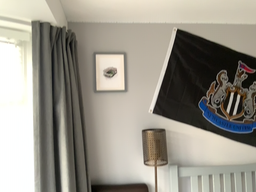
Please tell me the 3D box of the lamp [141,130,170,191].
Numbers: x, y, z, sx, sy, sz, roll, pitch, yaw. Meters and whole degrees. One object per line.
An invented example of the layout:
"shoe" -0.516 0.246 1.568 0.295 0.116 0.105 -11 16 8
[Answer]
"lamp" 0.260 1.040 1.910 0.190 1.430 0.220 -1 -3 -9
